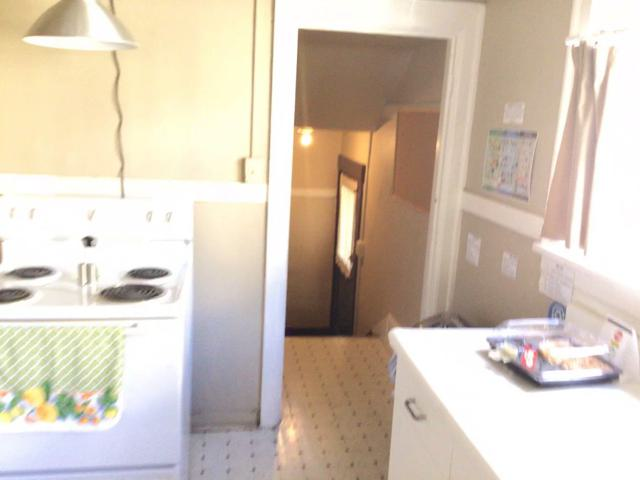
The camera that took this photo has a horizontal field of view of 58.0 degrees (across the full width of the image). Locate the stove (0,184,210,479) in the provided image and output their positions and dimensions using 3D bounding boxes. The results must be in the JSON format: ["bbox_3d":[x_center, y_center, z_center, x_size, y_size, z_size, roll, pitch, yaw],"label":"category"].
[{"bbox_3d":[-0.910,0.440,2.300,0.830,1.190,0.800,4,10,-13],"label":"stove"}]

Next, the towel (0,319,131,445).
[{"bbox_3d":[-0.910,0.470,1.910,0.520,0.400,0.080,4,10,-13],"label":"towel"}]
